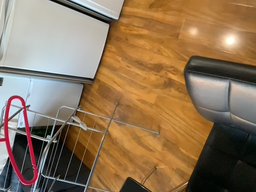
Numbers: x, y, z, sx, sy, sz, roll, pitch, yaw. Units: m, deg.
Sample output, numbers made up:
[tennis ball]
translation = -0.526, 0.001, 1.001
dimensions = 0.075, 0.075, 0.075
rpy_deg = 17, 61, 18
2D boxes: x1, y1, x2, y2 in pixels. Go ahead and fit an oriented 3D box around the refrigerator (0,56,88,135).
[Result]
[refrigerator]
translation = -0.940, -0.010, 2.080
dimensions = 0.480, 0.830, 0.550
rpy_deg = 30, 107, 37
